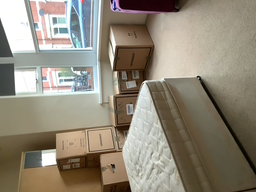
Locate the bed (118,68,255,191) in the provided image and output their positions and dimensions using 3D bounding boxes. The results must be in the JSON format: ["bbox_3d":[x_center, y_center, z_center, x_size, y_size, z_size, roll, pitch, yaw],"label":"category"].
[{"bbox_3d":[0.440,0.940,1.610,1.290,0.540,1.950,105,157,-49],"label":"bed"}]
